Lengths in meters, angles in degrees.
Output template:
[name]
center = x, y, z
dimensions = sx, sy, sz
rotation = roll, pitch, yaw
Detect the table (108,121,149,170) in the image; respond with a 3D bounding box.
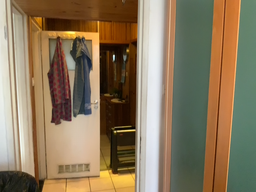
[table]
center = -0.010, 0.760, 3.330
dimensions = 0.540, 0.610, 0.380
rotation = -1, 9, -16
